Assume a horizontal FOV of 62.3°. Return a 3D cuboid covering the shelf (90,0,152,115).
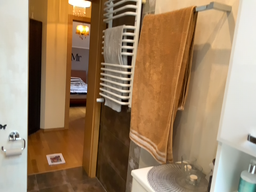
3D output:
[{"bbox_3d":[-0.110,-0.370,1.910,0.160,0.920,0.710,-1,11,-31],"label":"shelf"}]
